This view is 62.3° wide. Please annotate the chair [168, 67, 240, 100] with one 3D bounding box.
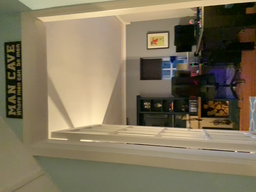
[{"bbox_3d":[1.580,-0.280,4.590,0.740,1.330,0.630,-21,-68,-74],"label":"chair"}]
